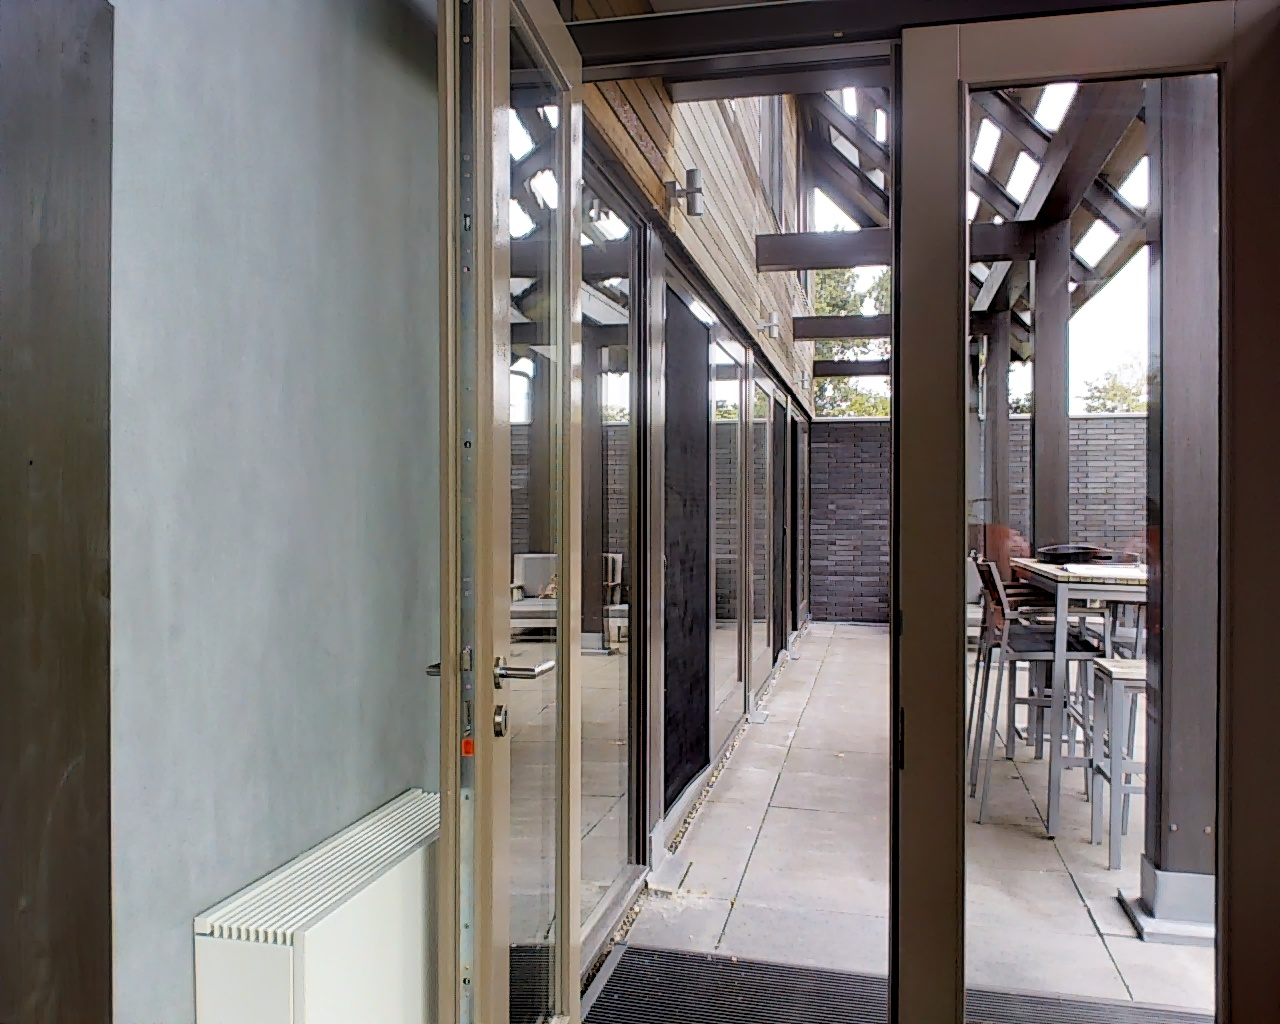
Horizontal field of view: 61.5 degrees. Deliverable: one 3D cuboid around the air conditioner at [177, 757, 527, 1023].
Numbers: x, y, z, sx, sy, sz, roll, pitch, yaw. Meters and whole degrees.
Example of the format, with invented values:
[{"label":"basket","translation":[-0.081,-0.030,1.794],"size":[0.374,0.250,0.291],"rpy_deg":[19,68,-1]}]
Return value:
[{"label":"air conditioner","translation":[-0.420,0.910,1.780],"size":[0.210,0.820,0.790],"rpy_deg":[1,0,13]}]
